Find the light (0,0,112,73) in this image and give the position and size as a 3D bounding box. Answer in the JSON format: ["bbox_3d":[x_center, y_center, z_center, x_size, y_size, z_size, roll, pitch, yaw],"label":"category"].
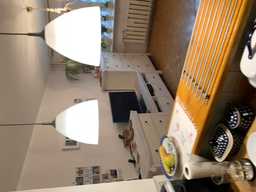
[{"bbox_3d":[-0.410,-0.230,0.770,0.670,0.190,0.210,1,116,-13],"label":"light"}]

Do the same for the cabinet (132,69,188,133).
[{"bbox_3d":[0.550,0.030,4.190,0.600,1.440,0.530,-1,122,-12],"label":"cabinet"}]

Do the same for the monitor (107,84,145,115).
[{"bbox_3d":[-0.070,0.040,4.230,0.580,1.020,0.060,-1,122,-12],"label":"monitor"}]

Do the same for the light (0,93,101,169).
[{"bbox_3d":[-0.470,0.160,1.050,0.640,0.240,0.270,-1,116,-12],"label":"light"}]
